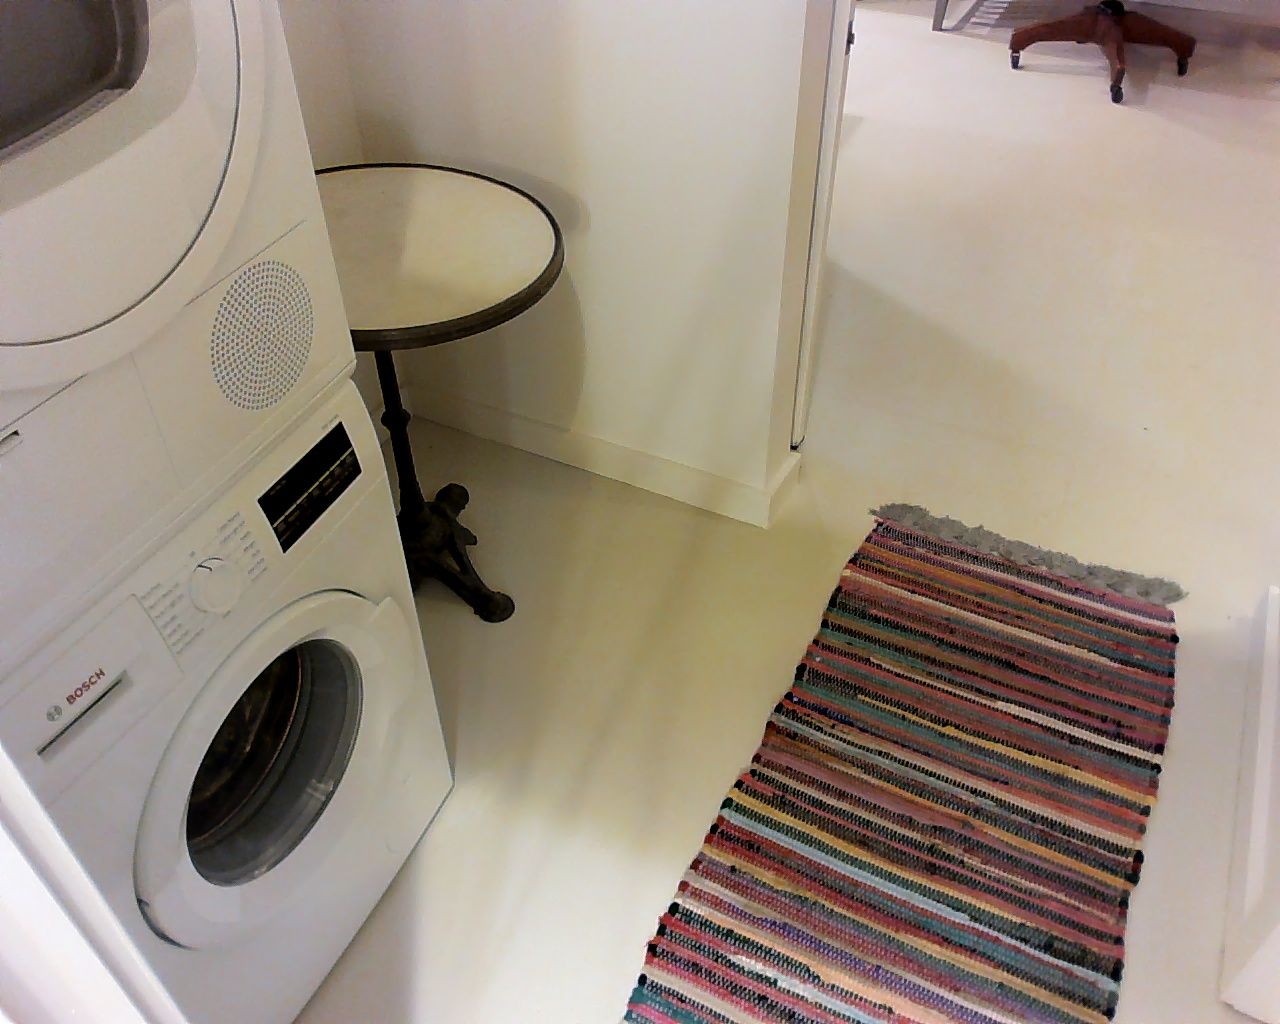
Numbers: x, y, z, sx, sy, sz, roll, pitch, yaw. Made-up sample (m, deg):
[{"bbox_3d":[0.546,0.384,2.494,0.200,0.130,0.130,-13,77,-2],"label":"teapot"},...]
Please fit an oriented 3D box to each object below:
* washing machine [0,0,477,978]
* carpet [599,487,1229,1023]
[{"bbox_3d":[-0.720,-0.300,0.990,0.740,1.110,0.710,18,45,20],"label":"washing machine"},{"bbox_3d":[0.470,0.570,1.720,0.710,0.040,1.690,18,45,20],"label":"carpet"}]
